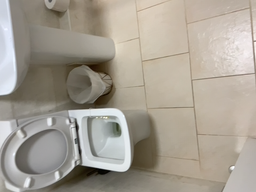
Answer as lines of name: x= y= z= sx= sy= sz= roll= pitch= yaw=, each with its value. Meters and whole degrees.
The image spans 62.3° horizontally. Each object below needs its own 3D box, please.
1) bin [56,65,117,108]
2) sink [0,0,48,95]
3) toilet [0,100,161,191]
bin: x=-0.290 y=-0.080 z=1.540 sx=0.270 sy=0.320 sz=0.270 roll=1 pitch=97 yaw=35
sink: x=-0.610 y=-0.290 z=1.020 sx=0.320 sy=0.210 sz=0.560 roll=-4 pitch=94 yaw=35
toilet: x=-0.250 y=0.280 z=1.270 sx=0.560 sy=0.810 sz=0.400 roll=-3 pitch=95 yaw=35
